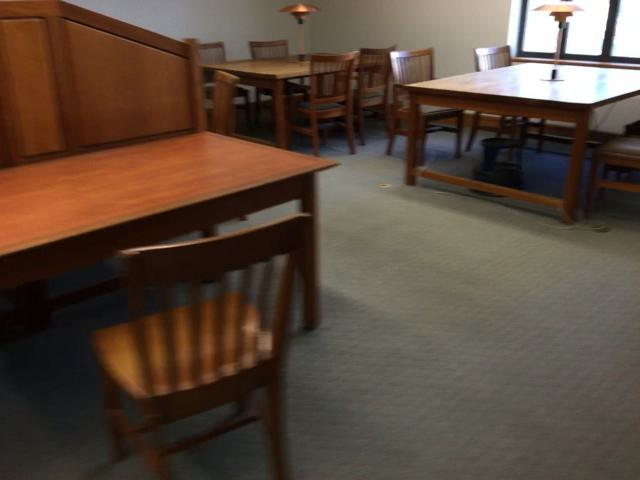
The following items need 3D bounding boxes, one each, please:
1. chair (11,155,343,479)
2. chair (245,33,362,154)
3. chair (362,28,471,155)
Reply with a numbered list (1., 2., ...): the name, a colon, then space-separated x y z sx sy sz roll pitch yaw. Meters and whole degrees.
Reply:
1. chair: -0.350 0.300 1.590 0.520 0.870 0.590 -26 33 -38
2. chair: -0.130 -1.360 5.260 0.750 0.900 0.650 -26 33 -38
3. chair: 0.830 -1.310 5.010 0.650 0.910 0.620 -23 31 -35
